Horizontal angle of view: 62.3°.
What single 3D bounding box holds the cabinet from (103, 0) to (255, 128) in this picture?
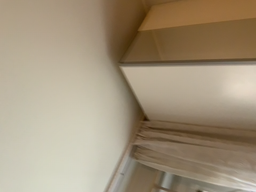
[{"bbox_3d":[1.070,-0.140,0.590,0.490,2.420,0.390,-63,-39,-31],"label":"cabinet"}]
